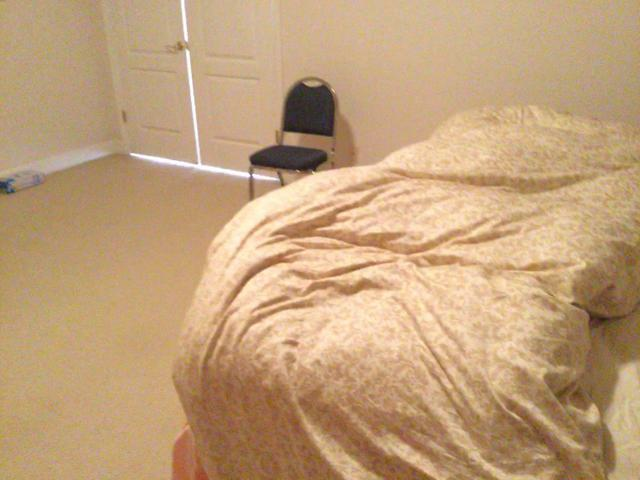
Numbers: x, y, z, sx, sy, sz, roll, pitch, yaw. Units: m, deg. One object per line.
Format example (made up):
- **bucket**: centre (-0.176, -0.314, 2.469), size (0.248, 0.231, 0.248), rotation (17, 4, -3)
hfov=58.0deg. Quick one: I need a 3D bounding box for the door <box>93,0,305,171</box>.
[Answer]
- **door**: centre (-0.870, -1.470, 4.000), size (1.580, 1.730, 0.250), rotation (13, 26, 22)
